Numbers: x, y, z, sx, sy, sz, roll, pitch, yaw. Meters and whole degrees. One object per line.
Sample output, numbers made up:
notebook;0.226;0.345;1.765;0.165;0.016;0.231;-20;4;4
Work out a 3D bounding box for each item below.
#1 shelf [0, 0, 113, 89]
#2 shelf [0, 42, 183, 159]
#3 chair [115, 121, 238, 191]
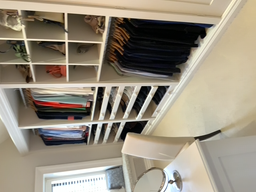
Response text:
shelf;-0.880;-0.630;2.150;0.900;1.220;0.700;111;152;-51
shelf;-0.680;0.200;3.450;2.000;2.340;0.700;111;152;-51
chair;0.440;0.650;2.180;0.500;1.010;0.540;107;155;-45
